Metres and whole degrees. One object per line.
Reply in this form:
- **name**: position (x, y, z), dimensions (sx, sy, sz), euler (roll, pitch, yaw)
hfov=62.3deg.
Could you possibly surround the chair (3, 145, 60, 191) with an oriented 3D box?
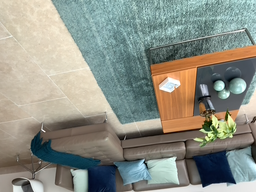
- **chair**: position (-1.660, 1.430, 3.650), dimensions (0.600, 0.910, 0.600), euler (-29, 140, 33)

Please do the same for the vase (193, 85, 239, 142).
- **vase**: position (0.750, 0.150, 1.860), dimensions (0.230, 0.420, 0.220), euler (-8, 147, 6)

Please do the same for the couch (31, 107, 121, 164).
- **couch**: position (-0.640, 0.570, 2.880), dimensions (0.940, 0.420, 0.720), euler (-10, 147, 8)
